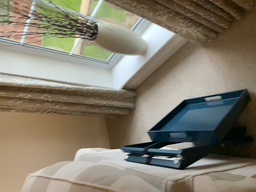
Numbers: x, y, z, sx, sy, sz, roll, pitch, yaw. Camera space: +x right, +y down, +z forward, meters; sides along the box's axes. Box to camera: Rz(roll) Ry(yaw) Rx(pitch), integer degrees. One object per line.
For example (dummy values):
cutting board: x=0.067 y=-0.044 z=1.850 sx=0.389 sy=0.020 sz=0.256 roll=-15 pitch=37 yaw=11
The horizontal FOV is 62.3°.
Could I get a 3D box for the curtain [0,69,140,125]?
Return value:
curtain: x=-0.940 y=0.000 z=1.350 sx=0.400 sy=2.280 sz=0.170 roll=-43 pitch=52 yaw=41
